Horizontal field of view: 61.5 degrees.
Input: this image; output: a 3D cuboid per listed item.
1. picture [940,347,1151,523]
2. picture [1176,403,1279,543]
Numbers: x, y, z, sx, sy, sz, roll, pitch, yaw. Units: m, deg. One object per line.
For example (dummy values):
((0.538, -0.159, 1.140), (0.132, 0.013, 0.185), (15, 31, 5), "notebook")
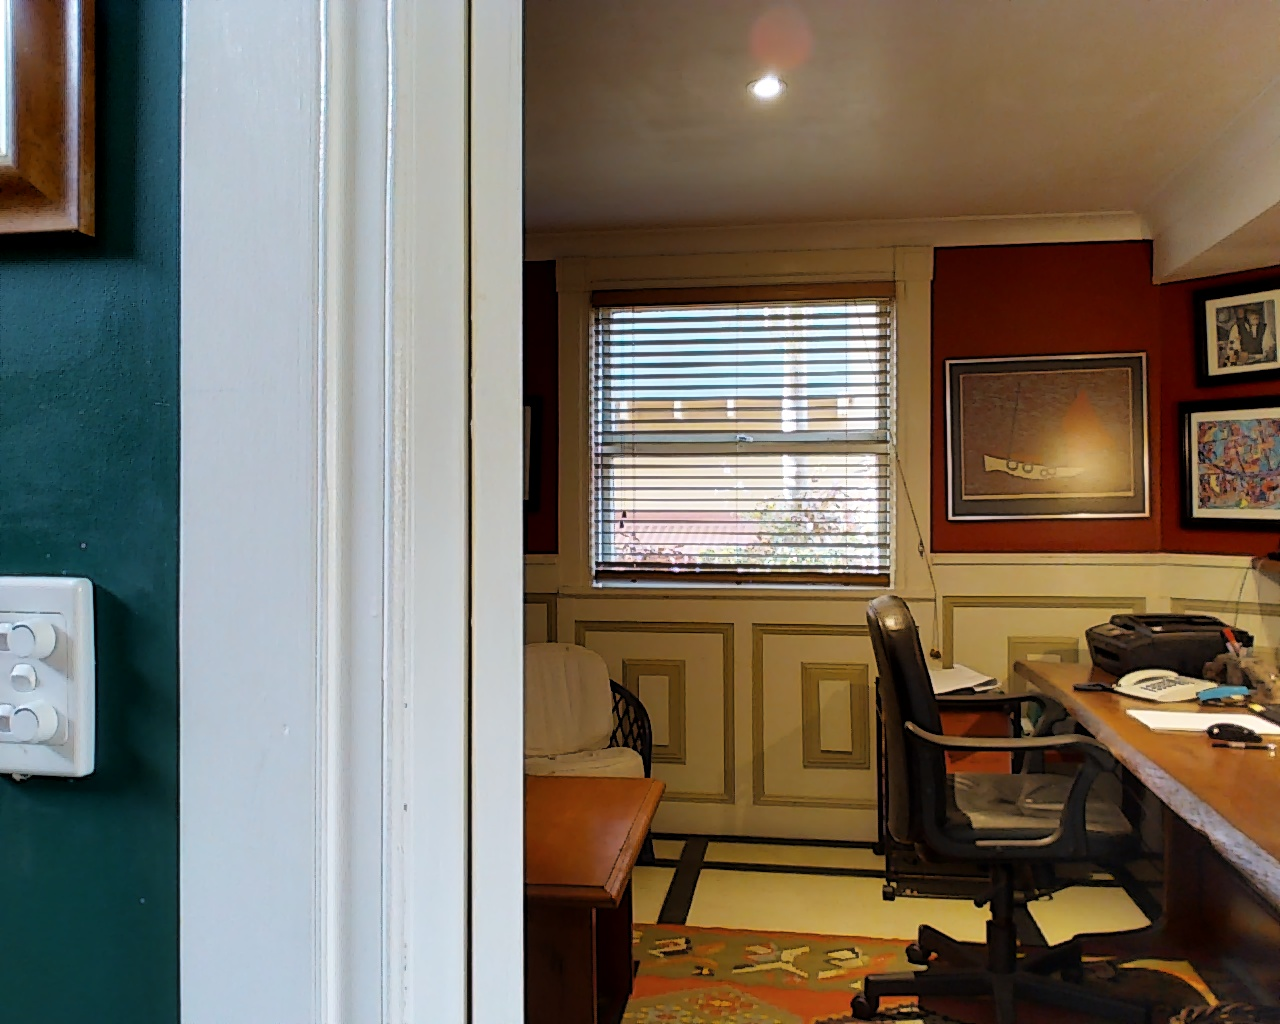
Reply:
((1.500, -0.280, 4.000), (0.730, 0.640, 0.090), (0, 0, 7), "picture")
((2.089, -0.130, 3.680), (0.030, 0.470, 0.500), (0, 0, -36), "picture")
